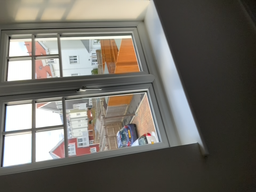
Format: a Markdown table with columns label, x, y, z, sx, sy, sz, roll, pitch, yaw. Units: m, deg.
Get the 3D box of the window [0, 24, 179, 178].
| label | x | y | z | sx | sy | sz | roll | pitch | yaw |
| --- | --- | --- | --- | --- | --- | --- | --- | --- | --- |
| window | -0.320 | -0.080 | 1.450 | 0.080 | 1.090 | 1.040 | 110 | 151 | -59 |
